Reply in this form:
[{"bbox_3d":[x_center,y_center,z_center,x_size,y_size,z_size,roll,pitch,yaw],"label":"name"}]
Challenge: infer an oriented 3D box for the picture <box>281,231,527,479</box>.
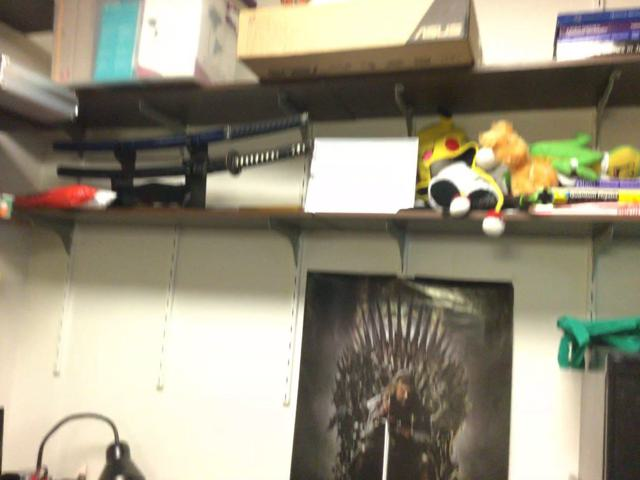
[{"bbox_3d":[0.210,0.530,1.600,0.640,1.090,0.040,3,-6,19],"label":"picture"}]
